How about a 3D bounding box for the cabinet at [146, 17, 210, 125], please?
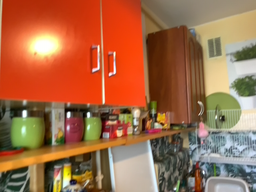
[{"bbox_3d":[0.470,-0.150,1.870,0.290,0.770,0.710,-6,-8,31],"label":"cabinet"}]
